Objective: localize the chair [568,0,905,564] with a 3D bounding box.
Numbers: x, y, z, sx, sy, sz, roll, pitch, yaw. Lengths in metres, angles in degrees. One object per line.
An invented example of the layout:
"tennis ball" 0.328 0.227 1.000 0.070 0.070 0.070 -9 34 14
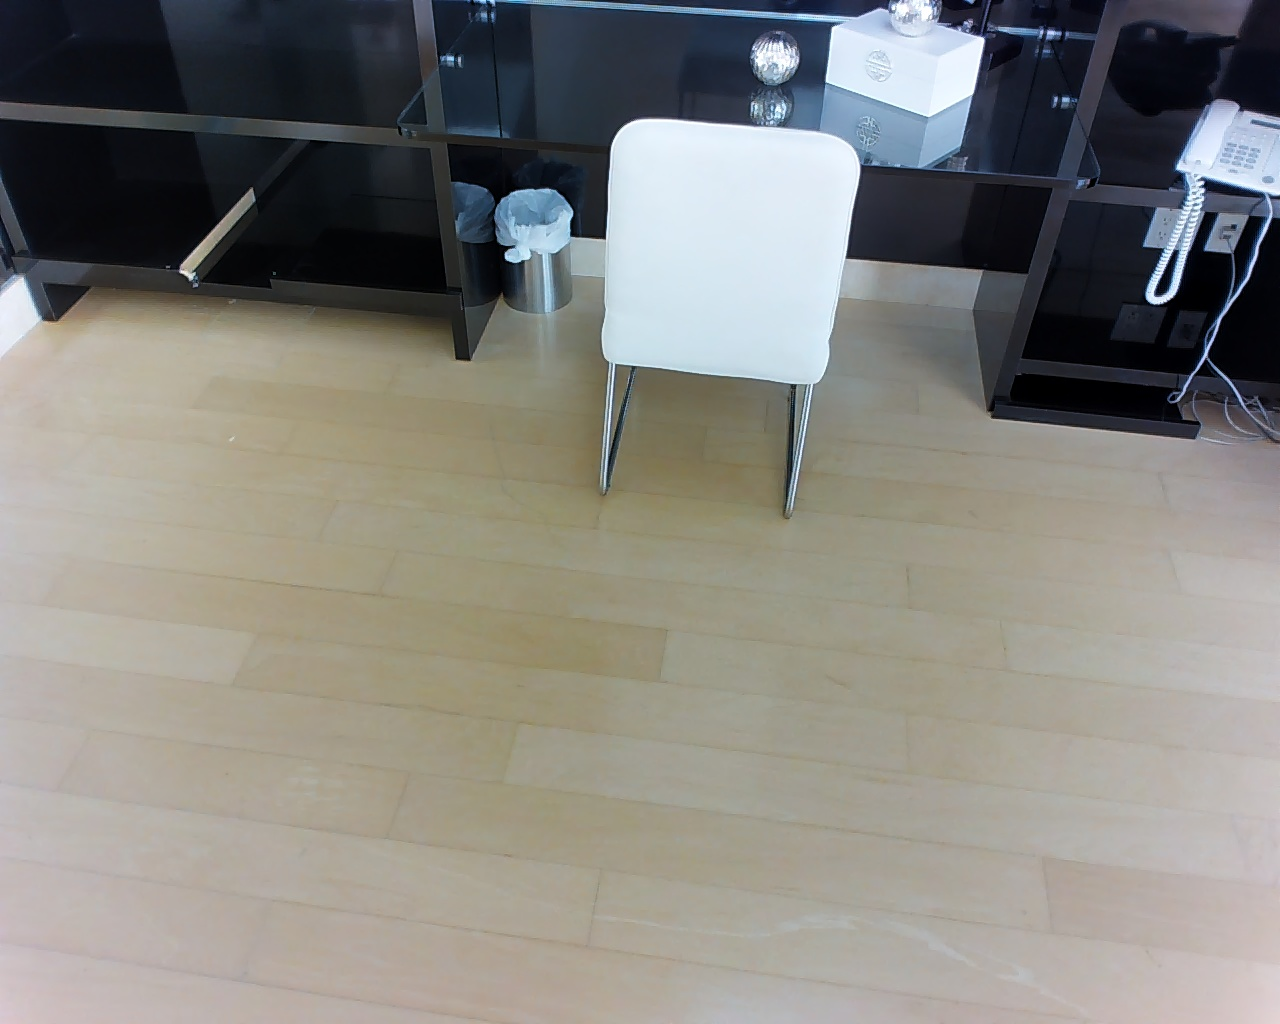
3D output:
"chair" 0.180 -0.460 2.160 0.510 0.900 0.620 6 43 5
